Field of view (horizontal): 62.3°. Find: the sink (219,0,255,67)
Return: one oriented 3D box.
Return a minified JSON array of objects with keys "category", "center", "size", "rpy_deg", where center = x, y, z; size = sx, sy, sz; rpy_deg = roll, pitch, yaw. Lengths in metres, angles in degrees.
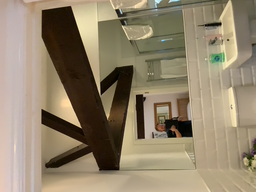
[{"category":"sink","center":[0.950,-0.580,1.830],"size":[0.420,0.170,0.560],"rpy_deg":[30,-123,-78]}]
